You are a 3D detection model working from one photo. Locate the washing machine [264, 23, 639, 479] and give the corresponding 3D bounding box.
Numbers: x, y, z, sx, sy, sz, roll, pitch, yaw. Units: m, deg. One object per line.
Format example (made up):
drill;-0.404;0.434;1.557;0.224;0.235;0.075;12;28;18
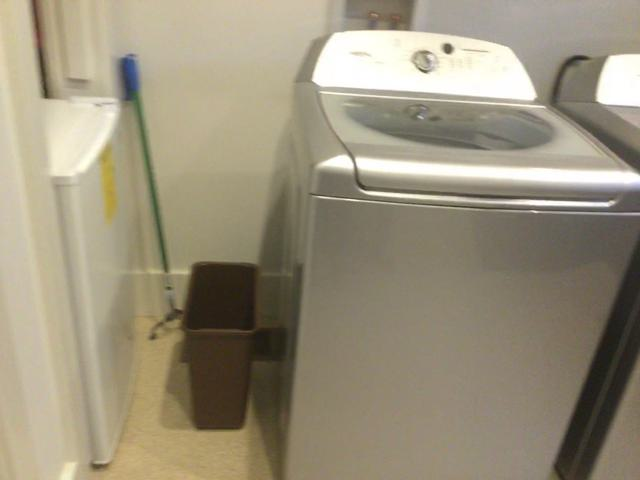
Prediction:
washing machine;0.240;0.070;1.510;0.710;1.080;0.690;1;27;-8
